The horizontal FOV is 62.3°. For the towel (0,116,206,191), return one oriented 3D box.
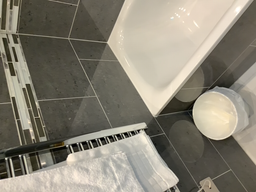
[{"bbox_3d":[-0.100,0.290,0.740,0.330,0.790,0.130,58,135,31],"label":"towel"}]
